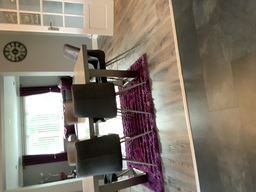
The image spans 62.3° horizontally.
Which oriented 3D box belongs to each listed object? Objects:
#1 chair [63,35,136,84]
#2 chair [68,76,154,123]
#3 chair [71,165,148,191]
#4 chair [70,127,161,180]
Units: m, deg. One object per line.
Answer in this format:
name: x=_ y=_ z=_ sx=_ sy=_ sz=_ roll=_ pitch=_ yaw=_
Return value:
chair: x=-0.420 y=-0.490 z=2.990 sx=0.440 sy=0.910 sz=0.530 roll=154 pitch=112 yaw=-68
chair: x=-0.230 y=0.050 z=2.570 sx=0.550 sy=0.890 sz=0.420 roll=146 pitch=119 yaw=-66
chair: x=-0.240 y=1.290 z=2.760 sx=0.430 sy=0.910 sz=0.550 roll=155 pitch=111 yaw=-68
chair: x=-0.170 y=0.640 z=2.470 sx=0.490 sy=0.910 sz=0.420 roll=146 pitch=119 yaw=-66
